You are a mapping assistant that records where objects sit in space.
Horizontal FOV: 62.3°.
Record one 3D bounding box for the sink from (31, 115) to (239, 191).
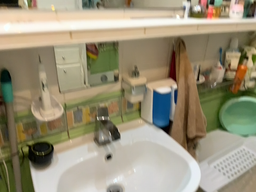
[{"bbox_3d":[0.010,0.320,0.800,0.620,0.190,0.420,-12,29,-27],"label":"sink"}]
